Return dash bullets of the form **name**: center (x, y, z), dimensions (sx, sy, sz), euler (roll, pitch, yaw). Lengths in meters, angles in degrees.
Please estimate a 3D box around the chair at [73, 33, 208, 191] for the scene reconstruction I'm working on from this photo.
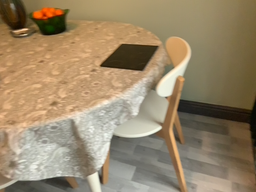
- **chair**: center (0.100, 0.110, 1.210), dimensions (0.520, 0.800, 0.440), euler (4, 36, 12)
